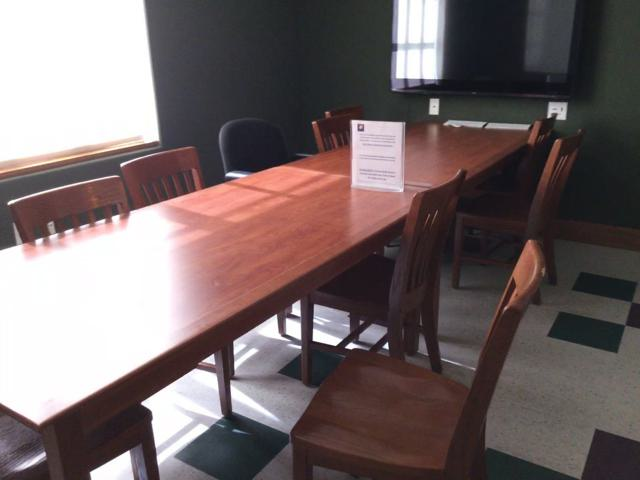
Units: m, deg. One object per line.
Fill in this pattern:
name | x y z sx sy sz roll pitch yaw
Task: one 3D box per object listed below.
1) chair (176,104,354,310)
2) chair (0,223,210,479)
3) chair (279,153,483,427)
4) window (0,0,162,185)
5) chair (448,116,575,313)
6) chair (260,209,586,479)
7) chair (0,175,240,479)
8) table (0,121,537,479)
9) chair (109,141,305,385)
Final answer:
chair | -0.270 -0.240 3.290 0.660 0.940 0.730 10 22 29
chair | -0.680 0.490 1.400 0.570 0.880 0.540 10 22 29
chair | 0.250 0.150 2.330 0.600 0.870 0.530 10 22 29
window | -1.560 -0.850 2.690 0.260 1.130 1.840 10 22 29
chair | 1.020 -0.170 3.080 0.440 0.870 0.610 10 22 29
chair | 0.270 0.450 1.490 0.590 0.880 0.550 10 22 29
chair | -0.660 0.280 2.010 0.520 0.880 0.470 10 22 29
table | 0.030 0.120 2.520 1.070 0.800 3.140 10 22 29
chair | -0.470 0.060 2.590 0.590 0.880 0.530 10 22 29
